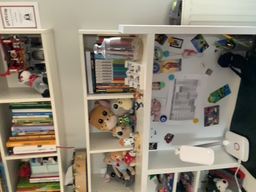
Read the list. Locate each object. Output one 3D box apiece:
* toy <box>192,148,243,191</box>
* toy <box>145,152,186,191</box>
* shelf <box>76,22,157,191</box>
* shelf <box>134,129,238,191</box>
[{"bbox_3d":[0.530,0.500,1.300,0.260,0.150,0.240,-115,25,-70],"label":"toy"},{"bbox_3d":[0.220,0.500,1.290,0.170,0.180,0.250,-114,23,-68],"label":"toy"},{"bbox_3d":[-0.080,0.150,1.160,0.390,0.310,1.040,-115,24,-69],"label":"shelf"},{"bbox_3d":[0.320,0.470,1.350,0.370,0.500,0.350,-115,24,-69],"label":"shelf"}]
